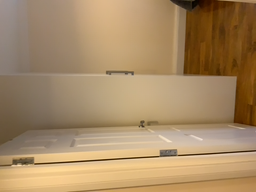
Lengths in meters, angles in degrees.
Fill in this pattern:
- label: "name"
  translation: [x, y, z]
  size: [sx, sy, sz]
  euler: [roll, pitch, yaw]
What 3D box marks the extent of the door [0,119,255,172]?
- label: "door"
  translation: [0.180, 0.290, 1.550]
  size: [0.900, 2.010, 0.060]
  euler: [-171, 80, -80]
